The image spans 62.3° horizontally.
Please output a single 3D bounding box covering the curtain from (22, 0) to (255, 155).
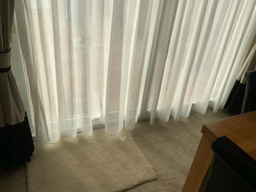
[{"bbox_3d":[0.320,-0.660,1.750,2.130,2.500,0.160,-7,34,-20],"label":"curtain"}]
